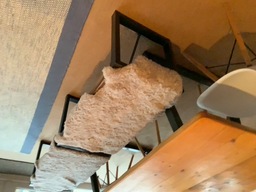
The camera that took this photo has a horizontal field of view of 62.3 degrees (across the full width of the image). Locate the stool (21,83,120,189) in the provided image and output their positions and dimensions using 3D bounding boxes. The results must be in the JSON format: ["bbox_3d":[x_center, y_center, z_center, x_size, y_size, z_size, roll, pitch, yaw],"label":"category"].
[{"bbox_3d":[-0.520,0.410,1.880,0.500,0.480,0.890,20,134,-25],"label":"stool"}]

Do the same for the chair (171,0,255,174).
[{"bbox_3d":[0.620,-0.100,1.120,0.400,0.800,0.520,18,135,-24],"label":"chair"}]

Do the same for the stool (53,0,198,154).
[{"bbox_3d":[-0.080,-0.070,1.340,0.460,0.490,0.800,20,134,-25],"label":"stool"}]
